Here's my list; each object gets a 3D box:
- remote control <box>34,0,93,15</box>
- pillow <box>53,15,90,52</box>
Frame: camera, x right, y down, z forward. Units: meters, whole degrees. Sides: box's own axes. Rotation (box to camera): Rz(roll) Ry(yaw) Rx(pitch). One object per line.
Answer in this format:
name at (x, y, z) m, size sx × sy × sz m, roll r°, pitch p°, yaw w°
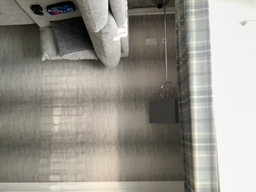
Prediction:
remote control at (-0.580, -0.840, 1.950) m, size 0.480 × 0.090 × 0.190 m, roll -1°, pitch 171°, yaw -1°
pillow at (-0.590, -0.650, 2.240) m, size 0.340 × 0.320 × 0.200 m, roll -1°, pitch 174°, yaw -2°
